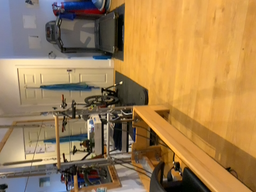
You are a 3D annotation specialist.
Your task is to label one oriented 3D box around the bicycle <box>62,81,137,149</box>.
[{"bbox_3d":[-0.630,0.200,3.800,1.770,1.030,0.530,-134,44,-66],"label":"bicycle"}]
